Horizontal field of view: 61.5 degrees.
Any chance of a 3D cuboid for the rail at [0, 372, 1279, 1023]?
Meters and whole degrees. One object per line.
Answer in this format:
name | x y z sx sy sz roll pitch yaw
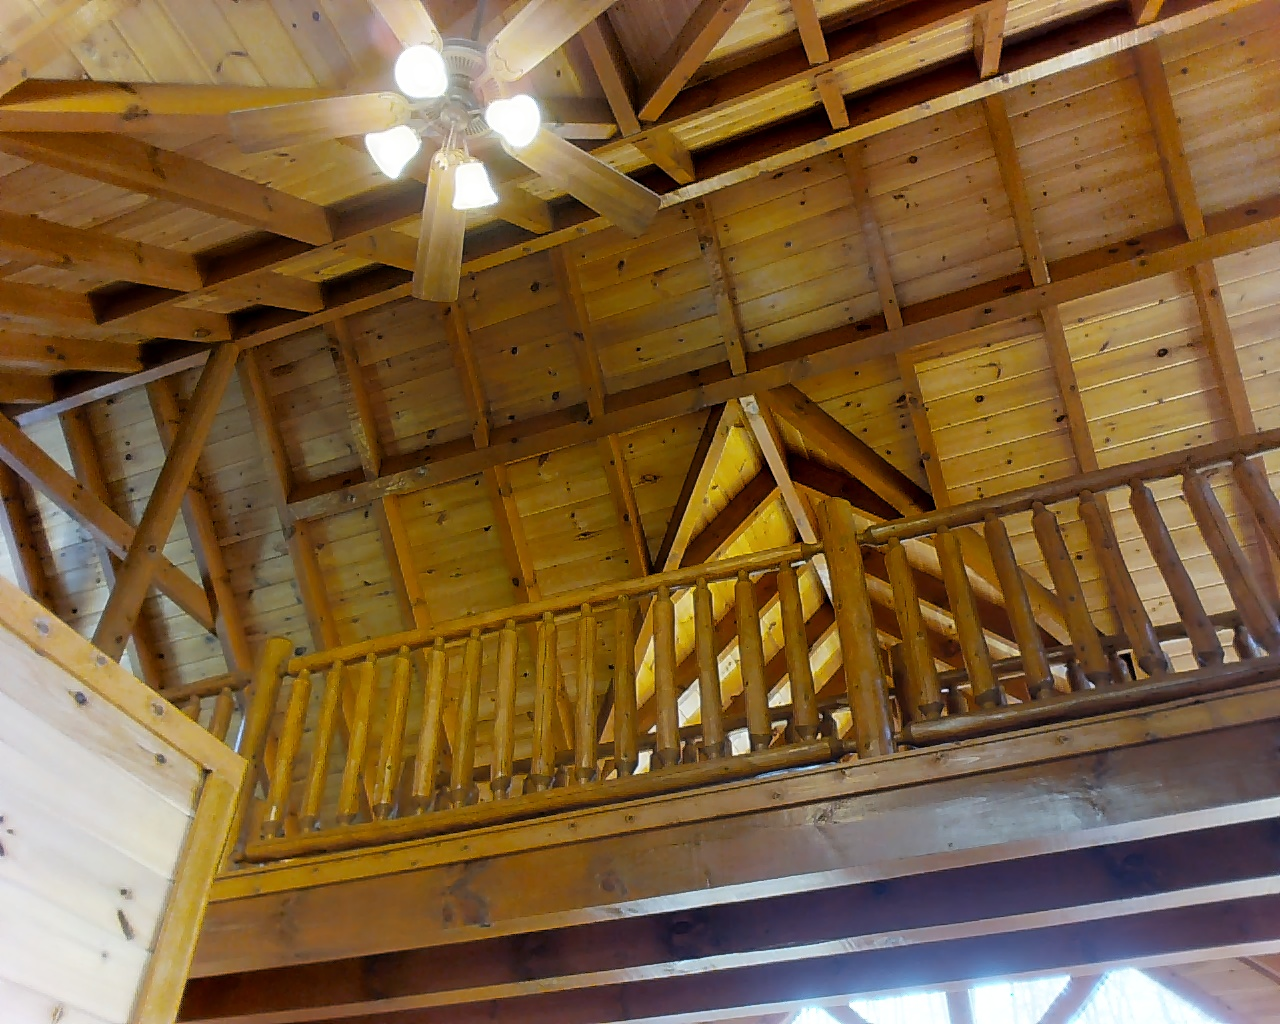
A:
rail | 0.540 1.040 4.620 6.680 1.490 1.420 -15 -43 17
